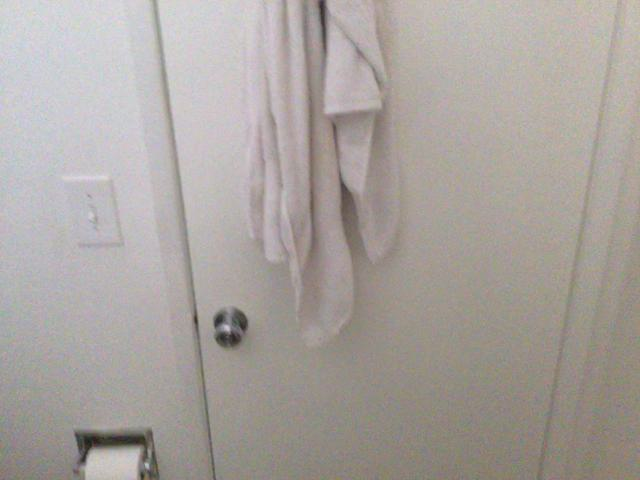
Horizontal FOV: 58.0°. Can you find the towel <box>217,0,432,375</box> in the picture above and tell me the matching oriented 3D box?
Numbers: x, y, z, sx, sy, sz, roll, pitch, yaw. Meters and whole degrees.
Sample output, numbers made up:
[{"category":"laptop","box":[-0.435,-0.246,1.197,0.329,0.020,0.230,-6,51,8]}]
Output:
[{"category":"towel","box":[0.010,-0.200,0.850,0.270,0.860,0.140,-3,25,0]}]

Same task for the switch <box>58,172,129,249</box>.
[{"category":"switch","box":[-0.390,-0.050,1.000,0.090,0.130,0.020,-3,25,0]}]

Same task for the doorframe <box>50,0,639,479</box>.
[{"category":"doorframe","box":[0.100,0.010,1.010,0.920,2.050,0.070,-3,25,0]}]
